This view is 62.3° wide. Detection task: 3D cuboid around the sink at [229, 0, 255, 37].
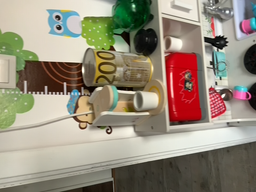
[{"bbox_3d":[0.500,-0.370,0.830,0.180,0.060,0.220,-8,83,59],"label":"sink"}]
